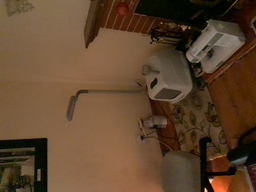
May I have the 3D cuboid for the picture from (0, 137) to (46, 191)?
[{"bbox_3d":[-1.130,0.760,1.980,0.080,0.680,0.720,128,138,-55],"label":"picture"}]
